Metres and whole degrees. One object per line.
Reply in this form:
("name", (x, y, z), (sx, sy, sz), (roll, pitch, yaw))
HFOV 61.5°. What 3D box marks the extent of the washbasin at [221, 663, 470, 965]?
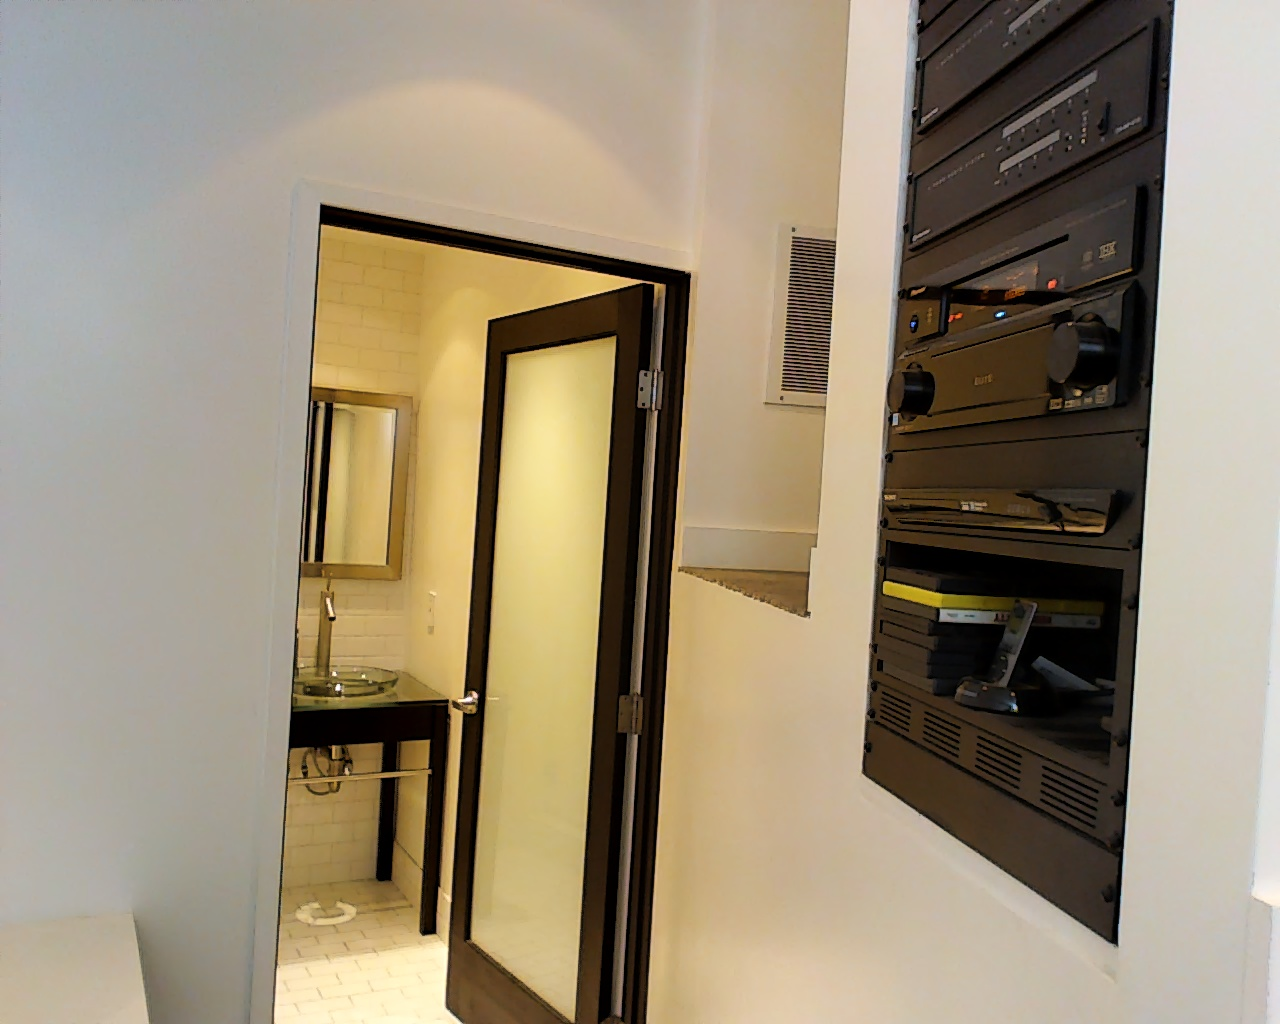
("washbasin", (-1.060, 1.010, 3.820), (0.680, 0.830, 0.640), (2, 1, -30))
